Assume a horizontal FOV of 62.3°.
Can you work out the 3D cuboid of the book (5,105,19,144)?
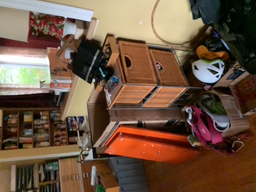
[{"bbox_3d":[-1.970,0.480,3.620,0.180,0.190,0.630,-53,44,50],"label":"book"}]
